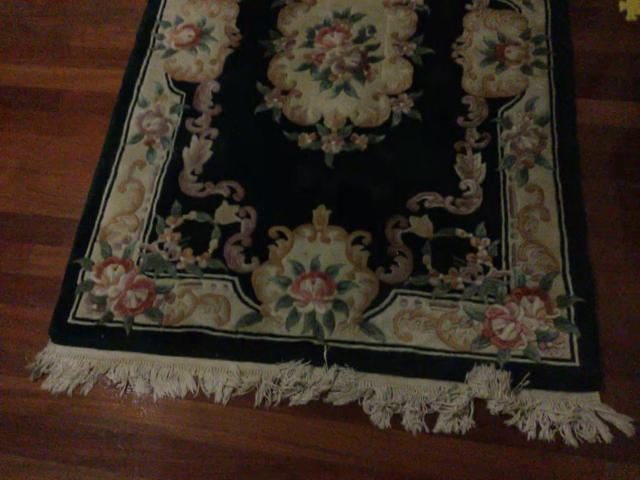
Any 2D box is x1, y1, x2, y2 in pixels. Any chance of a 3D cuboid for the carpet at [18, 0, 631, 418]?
[{"bbox_3d":[0.090,-0.560,1.640,1.260,0.110,1.920,5,65,5],"label":"carpet"}]
